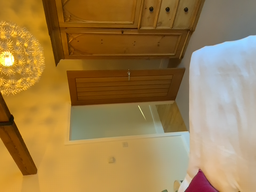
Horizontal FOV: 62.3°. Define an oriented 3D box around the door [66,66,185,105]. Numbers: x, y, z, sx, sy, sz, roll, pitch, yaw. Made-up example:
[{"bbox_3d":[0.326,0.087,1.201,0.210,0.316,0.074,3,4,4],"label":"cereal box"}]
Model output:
[{"bbox_3d":[-0.030,-0.180,3.790,0.820,1.990,0.040,98,165,-47],"label":"door"}]
